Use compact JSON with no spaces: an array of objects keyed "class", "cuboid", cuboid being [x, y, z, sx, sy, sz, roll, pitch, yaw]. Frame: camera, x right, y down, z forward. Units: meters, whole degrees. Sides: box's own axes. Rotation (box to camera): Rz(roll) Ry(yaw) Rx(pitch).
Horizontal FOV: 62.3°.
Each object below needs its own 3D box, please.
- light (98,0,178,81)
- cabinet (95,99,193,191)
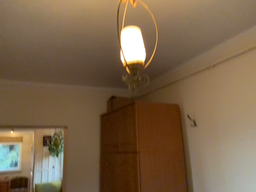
[{"class":"light","cuboid":[0.010,-0.360,0.920,0.170,0.540,0.180,-14,-5,-31]},{"class":"cabinet","cuboid":[0.110,1.150,2.190,0.630,2.050,0.960,4,-14,-26]}]
